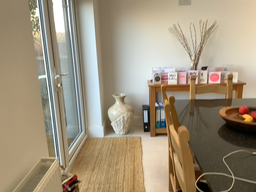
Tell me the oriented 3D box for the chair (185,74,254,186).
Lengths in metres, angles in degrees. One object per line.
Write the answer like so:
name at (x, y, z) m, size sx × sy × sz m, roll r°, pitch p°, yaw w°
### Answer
chair at (0.850, 0.310, 2.110) m, size 0.420 × 0.990 × 0.480 m, roll -1°, pitch 14°, yaw 3°

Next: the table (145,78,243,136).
table at (0.910, 0.150, 3.180) m, size 1.290 × 0.770 × 0.450 m, roll -1°, pitch 14°, yaw 3°

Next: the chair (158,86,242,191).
chair at (0.500, 0.440, 1.670) m, size 0.470 × 0.960 × 0.440 m, roll -1°, pitch 14°, yaw 1°
